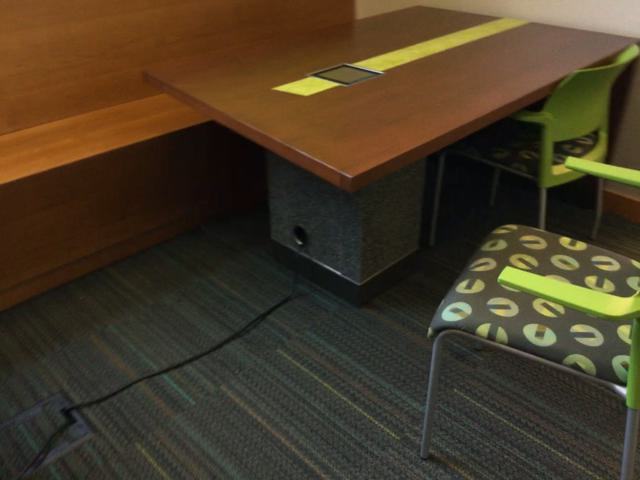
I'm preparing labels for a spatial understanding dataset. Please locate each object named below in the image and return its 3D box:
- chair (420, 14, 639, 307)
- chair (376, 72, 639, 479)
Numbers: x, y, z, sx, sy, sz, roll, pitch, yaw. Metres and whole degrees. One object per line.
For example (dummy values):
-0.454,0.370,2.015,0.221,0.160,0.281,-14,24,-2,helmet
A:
0.800,-0.330,2.090,0.550,0.780,0.650,24,39,36,chair
0.560,0.150,1.330,0.560,0.830,0.760,16,34,27,chair
